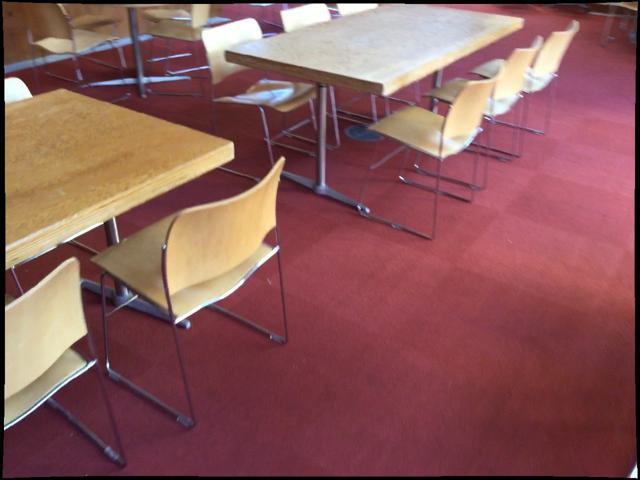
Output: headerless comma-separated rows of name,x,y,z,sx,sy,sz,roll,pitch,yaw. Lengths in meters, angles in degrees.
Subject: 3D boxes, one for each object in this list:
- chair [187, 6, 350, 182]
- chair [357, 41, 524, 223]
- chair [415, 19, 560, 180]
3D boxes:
chair,-0.280,-0.851,3.270,0.650,0.731,0.570,23,38,29
chair,0.559,-0.541,2.790,0.530,0.640,0.490,26,40,32
chair,0.929,-0.811,3.270,0.530,0.690,0.490,23,38,29
